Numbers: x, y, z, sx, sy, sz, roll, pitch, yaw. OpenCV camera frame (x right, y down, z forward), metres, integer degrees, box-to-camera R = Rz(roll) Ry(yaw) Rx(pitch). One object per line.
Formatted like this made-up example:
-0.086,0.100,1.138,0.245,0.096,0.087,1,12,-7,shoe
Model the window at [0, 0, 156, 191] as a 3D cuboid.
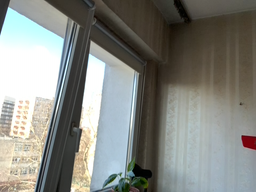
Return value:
-0.320,0.060,0.820,0.100,1.230,2.160,1,-11,26,window
